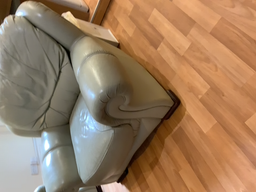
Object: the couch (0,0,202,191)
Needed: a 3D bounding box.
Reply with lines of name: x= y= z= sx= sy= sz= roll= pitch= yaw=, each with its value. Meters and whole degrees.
couch: x=-0.440 y=0.040 z=1.570 sx=1.110 sy=0.960 sz=1.150 roll=-59 pitch=46 yaw=31
